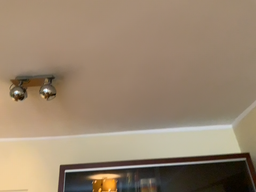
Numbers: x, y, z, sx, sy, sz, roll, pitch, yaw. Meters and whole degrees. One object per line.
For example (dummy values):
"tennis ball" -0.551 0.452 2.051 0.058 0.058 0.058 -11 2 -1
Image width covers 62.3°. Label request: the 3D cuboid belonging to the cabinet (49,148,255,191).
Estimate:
"cabinet" 0.220 0.630 1.500 1.460 0.360 0.280 -3 -31 0
